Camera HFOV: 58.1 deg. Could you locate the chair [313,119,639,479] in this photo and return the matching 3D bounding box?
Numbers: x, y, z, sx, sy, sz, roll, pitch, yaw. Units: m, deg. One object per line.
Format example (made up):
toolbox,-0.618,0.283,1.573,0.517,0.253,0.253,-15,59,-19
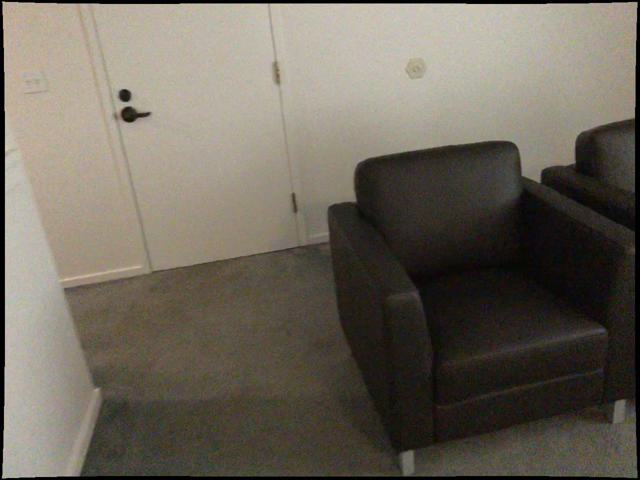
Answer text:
chair,0.529,0.160,2.000,0.898,0.882,0.800,-10,23,-5
